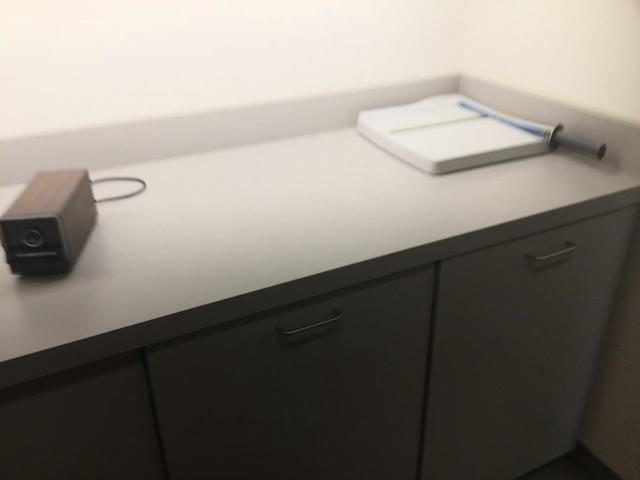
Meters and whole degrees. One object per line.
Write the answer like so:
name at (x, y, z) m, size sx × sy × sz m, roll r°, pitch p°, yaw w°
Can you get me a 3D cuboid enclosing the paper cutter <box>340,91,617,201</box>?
paper cutter at (0.330, -0.240, 1.320) m, size 0.360 × 0.070 × 0.500 m, roll -16°, pitch 29°, yaw -25°
